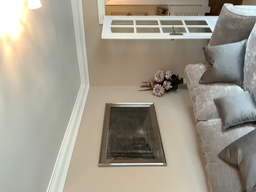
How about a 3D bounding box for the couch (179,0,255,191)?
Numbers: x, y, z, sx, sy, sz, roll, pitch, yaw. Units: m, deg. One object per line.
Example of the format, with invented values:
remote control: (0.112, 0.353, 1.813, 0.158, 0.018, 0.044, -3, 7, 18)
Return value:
couch: (1.170, 0.050, 1.980, 1.030, 0.900, 1.740, 92, 177, -57)
